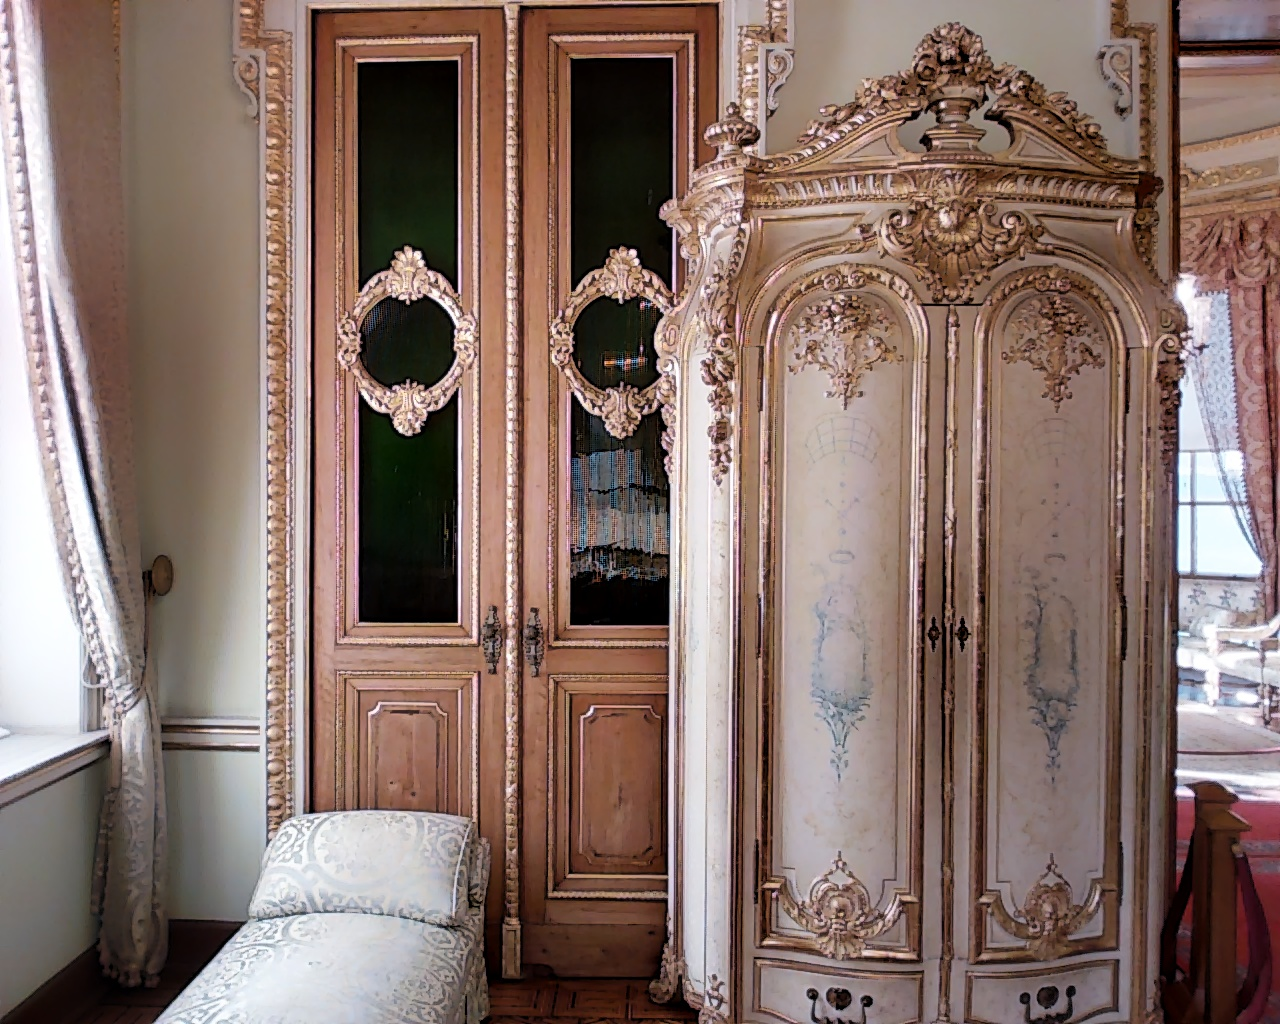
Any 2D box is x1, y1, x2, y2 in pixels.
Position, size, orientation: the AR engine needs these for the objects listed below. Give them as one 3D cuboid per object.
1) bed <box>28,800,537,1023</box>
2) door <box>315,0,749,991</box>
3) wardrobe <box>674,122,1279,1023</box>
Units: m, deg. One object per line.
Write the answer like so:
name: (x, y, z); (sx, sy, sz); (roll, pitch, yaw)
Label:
bed: (-0.780, 1.341, 2.800); (0.780, 0.690, 1.760); (0, 1, 2)
door: (-0.370, -0.060, 3.790); (1.479, 3.402, 0.200); (0, 1, 2)
wardrobe: (0.940, 0.320, 3.310); (1.649, 2.751, 0.700); (0, 1, 2)
